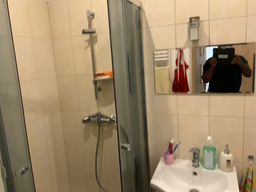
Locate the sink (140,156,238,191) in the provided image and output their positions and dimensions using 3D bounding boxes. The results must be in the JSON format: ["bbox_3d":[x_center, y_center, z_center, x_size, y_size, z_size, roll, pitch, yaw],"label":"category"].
[{"bbox_3d":[0.390,0.580,1.340,0.520,0.190,0.380,0,11,22],"label":"sink"}]

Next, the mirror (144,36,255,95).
[{"bbox_3d":[0.450,-0.180,1.380,0.680,0.340,0.070,0,11,19],"label":"mirror"}]
